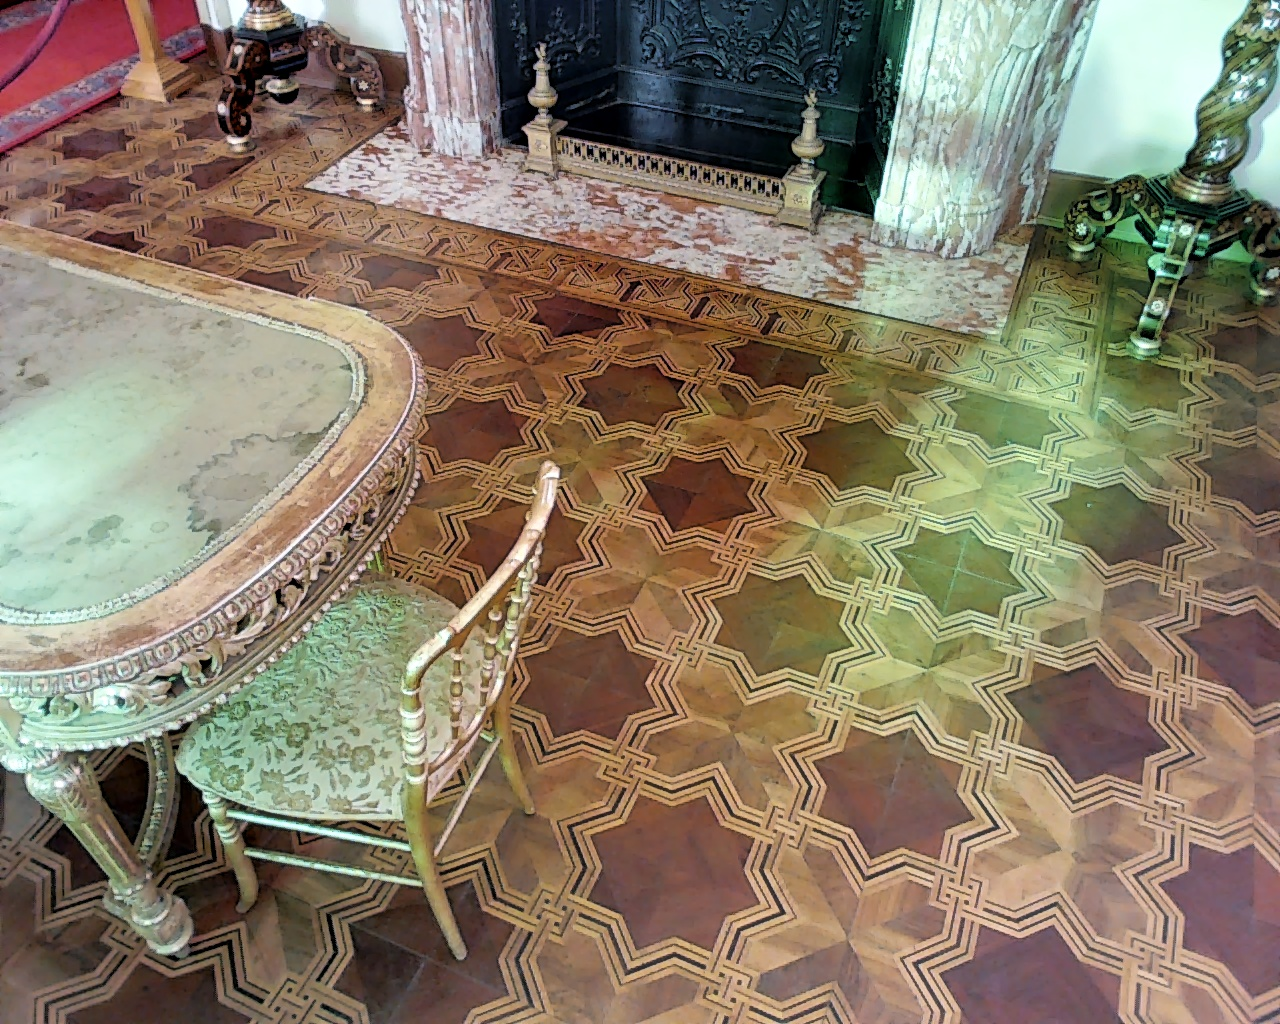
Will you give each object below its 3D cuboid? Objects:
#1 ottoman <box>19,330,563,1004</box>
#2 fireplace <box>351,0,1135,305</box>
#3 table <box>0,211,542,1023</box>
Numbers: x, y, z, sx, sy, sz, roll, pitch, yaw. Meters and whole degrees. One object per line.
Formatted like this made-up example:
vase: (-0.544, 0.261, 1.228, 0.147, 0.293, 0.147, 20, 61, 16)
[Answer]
ottoman: (-0.430, 0.260, 1.620, 0.440, 0.880, 0.440, 17, 45, 17)
fireplace: (0.230, -1.730, 3.240, 2.420, 1.680, 0.460, 17, 45, 17)
table: (-1.000, 0.110, 1.830, 1.400, 0.830, 0.810, 17, 45, 17)
